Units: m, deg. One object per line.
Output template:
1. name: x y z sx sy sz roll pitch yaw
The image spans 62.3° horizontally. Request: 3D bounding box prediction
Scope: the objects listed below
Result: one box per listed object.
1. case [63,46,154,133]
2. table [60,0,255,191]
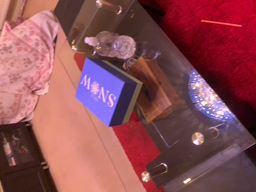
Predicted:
1. case: -0.100 -0.040 0.950 0.310 0.190 0.240 38 116 34
2. table: 0.110 -0.050 1.160 0.590 0.400 1.010 -48 62 33
